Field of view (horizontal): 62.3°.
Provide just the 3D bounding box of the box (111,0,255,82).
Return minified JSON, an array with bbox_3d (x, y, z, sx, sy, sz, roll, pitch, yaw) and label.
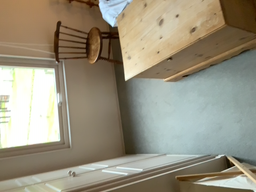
[{"bbox_3d":[0.410,-0.510,1.600,0.950,0.630,0.560,-23,73,54],"label":"box"}]
